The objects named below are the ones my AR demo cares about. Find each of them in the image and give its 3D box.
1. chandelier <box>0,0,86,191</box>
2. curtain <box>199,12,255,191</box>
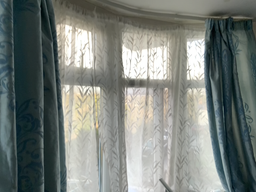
[{"bbox_3d":[-0.330,0.200,0.750,0.170,1.590,0.380,-1,-1,22],"label":"chandelier"},{"bbox_3d":[0.810,0.170,1.560,0.460,1.450,0.280,0,-1,-9],"label":"curtain"}]
